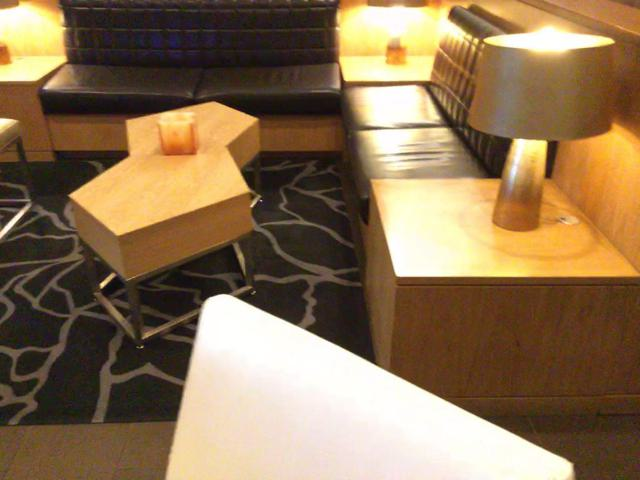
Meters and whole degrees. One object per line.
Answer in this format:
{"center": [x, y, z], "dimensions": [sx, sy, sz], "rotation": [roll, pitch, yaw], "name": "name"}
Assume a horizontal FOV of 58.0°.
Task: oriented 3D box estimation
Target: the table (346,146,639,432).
{"center": [0.490, 0.090, 2.040], "dimensions": [0.670, 0.530, 0.990], "rotation": [-2, 28, -4], "name": "table"}

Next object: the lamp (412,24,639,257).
{"center": [0.560, -0.300, 1.660], "dimensions": [0.460, 0.550, 0.410], "rotation": [-2, 28, -4], "name": "lamp"}

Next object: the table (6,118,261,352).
{"center": [-0.620, -0.090, 2.320], "dimensions": [0.730, 0.520, 0.990], "rotation": [-2, 28, -4], "name": "table"}
